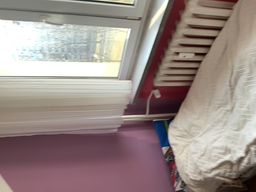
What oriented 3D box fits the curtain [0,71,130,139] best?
[{"bbox_3d":[-0.690,0.090,1.620,0.650,1.300,0.140,107,156,-50],"label":"curtain"}]
